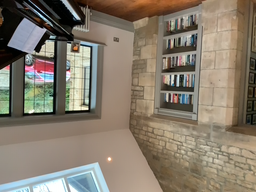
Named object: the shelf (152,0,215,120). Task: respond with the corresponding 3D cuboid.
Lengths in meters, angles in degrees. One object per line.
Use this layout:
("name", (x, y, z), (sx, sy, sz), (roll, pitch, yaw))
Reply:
("shelf", (1.060, -0.660, 4.240), (0.410, 2.090, 1.050), (0, -176, -41))
